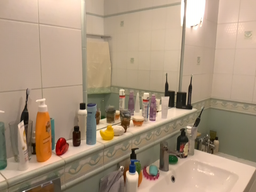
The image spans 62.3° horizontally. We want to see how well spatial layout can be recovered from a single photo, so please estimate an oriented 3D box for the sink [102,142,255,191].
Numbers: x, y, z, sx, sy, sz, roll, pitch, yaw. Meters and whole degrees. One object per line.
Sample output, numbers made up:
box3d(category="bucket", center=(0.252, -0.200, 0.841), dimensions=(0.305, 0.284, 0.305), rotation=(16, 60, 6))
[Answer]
box3d(category="sink", center=(0.340, 0.500, 1.160), dimensions=(0.480, 0.140, 0.860), rotation=(10, 13, 40))
